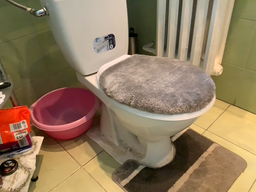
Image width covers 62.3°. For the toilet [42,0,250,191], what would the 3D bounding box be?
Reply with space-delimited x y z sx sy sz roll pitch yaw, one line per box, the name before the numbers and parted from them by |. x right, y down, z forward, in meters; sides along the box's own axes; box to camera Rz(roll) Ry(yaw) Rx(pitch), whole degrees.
toilet | 0.030 -0.050 0.940 0.350 0.740 0.650 -32 44 -33
